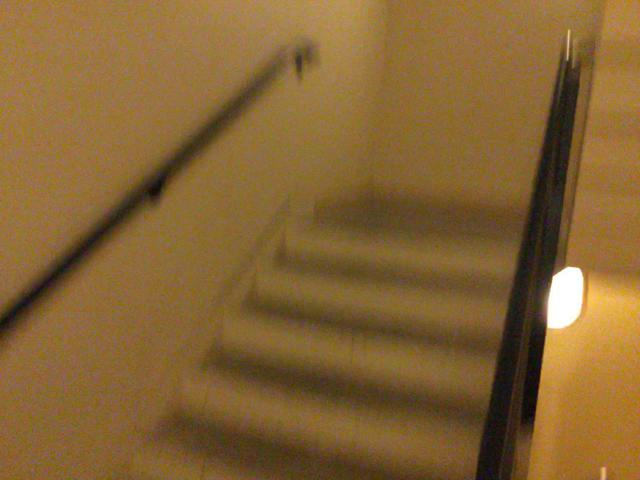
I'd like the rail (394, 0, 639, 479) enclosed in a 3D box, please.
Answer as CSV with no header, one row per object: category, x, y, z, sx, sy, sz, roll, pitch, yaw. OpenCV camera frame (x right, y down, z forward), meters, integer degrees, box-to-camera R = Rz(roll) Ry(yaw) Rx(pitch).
rail,0.580,0.450,1.590,0.320,1.780,1.830,6,12,21

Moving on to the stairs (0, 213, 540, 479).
stairs,0.050,0.590,1.960,1.170,1.030,1.900,6,12,21
